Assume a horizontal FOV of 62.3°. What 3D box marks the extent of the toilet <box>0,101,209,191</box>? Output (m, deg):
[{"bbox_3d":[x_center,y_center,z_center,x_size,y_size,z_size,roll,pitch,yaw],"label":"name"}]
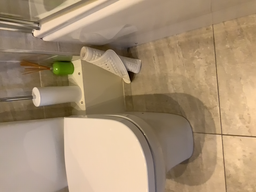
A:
[{"bbox_3d":[-0.160,0.260,0.860,0.640,0.830,0.380,-2,94,42],"label":"toilet"}]
